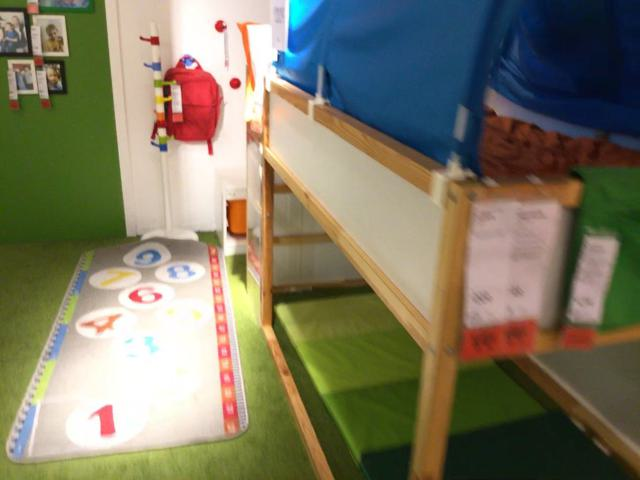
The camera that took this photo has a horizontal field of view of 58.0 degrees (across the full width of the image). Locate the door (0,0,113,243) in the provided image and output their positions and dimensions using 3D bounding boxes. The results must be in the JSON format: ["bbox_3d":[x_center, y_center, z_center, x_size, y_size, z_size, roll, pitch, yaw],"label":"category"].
[{"bbox_3d":[-1.540,-0.780,3.150,0.740,1.670,0.060,-1,21,-19],"label":"door"}]

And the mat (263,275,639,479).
[{"bbox_3d":[0.360,0.530,2.260,0.840,0.160,1.500,-1,21,-19],"label":"mat"}]
